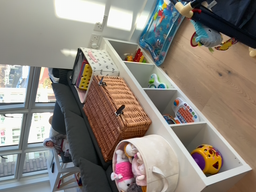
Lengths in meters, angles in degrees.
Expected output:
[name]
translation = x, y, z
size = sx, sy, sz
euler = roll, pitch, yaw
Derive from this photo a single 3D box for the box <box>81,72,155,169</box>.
[box]
translation = -0.110, 0.150, 1.500
size = 0.550, 0.220, 0.380
euler = 56, 134, 40
